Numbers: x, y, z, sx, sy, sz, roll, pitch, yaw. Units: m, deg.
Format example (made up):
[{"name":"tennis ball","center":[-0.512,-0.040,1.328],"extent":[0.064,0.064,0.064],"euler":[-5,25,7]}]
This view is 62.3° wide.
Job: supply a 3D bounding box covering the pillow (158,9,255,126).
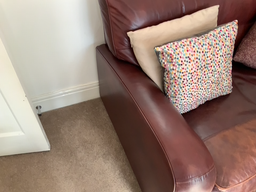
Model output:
[{"name":"pillow","center":[0.400,-0.110,0.990],"extent":[0.450,0.350,0.140],"euler":[-33,53,-2]}]
